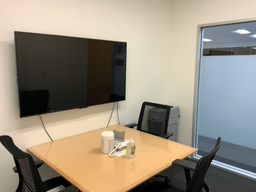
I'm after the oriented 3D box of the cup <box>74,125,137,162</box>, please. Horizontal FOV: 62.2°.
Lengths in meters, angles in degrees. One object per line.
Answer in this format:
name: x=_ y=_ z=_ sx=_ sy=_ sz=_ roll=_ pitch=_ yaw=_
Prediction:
cup: x=-0.220 y=0.450 z=2.110 sx=0.380 sy=0.140 sz=0.490 roll=9 pitch=12 yaw=42
